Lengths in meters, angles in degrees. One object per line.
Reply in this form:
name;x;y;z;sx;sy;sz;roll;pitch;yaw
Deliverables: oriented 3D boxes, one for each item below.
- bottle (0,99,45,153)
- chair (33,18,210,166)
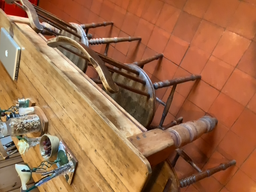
bottle;-0.570;0.150;1.110;0.160;0.170;0.200;43;122;31
chair;-0.010;-0.060;1.190;0.460;0.780;0.460;41;121;32
